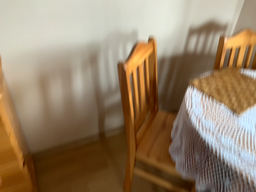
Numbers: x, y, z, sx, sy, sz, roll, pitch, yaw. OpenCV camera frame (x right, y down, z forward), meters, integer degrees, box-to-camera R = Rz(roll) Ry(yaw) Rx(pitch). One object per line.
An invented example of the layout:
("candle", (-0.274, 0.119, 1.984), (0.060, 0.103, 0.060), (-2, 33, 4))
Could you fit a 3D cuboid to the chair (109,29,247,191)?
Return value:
("chair", (0.240, 0.170, 1.260), (0.520, 0.900, 0.500), (17, 39, 16))
